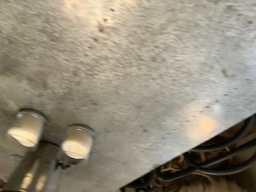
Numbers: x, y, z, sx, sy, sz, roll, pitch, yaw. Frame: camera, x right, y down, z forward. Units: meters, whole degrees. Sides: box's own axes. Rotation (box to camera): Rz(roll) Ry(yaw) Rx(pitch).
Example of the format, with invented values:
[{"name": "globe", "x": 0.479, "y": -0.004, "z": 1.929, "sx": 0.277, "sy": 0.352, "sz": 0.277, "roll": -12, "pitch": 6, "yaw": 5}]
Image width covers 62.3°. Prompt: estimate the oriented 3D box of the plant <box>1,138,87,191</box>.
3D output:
[{"name": "plant", "x": -0.350, "y": 0.410, "z": 0.770, "sx": 0.240, "sy": 0.380, "sz": 0.240, "roll": 27, "pitch": 133, "yaw": -19}]
